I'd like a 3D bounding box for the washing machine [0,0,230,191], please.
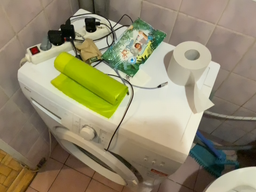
[{"bbox_3d":[-0.070,0.110,1.080,0.690,0.840,0.480,24,61,9],"label":"washing machine"}]
